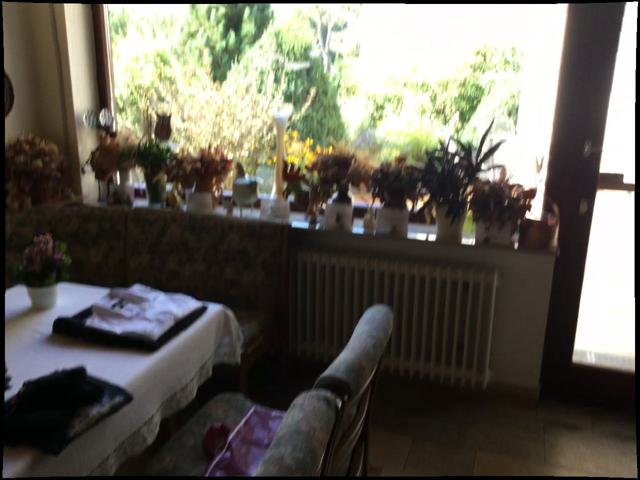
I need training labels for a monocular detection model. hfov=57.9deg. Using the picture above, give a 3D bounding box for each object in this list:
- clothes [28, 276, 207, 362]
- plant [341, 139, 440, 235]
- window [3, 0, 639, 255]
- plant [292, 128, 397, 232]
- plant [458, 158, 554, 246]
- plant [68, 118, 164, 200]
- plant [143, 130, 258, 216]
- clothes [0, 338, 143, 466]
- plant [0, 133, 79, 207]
[{"bbox_3d":[-0.639,0.240,1.870,0.410,0.070,0.360,7,19,20],"label":"clothes"},{"bbox_3d":[0.330,-0.260,2.710,0.390,0.370,0.260,7,19,20],"label":"plant"},{"bbox_3d":[-0.180,-0.711,2.770,2.878,1.111,0.480,7,19,20],"label":"window"},{"bbox_3d":[0.120,-0.300,2.750,0.400,0.400,0.340,7,19,20],"label":"plant"},{"bbox_3d":[0.829,-0.180,2.570,0.360,0.300,0.280,7,19,20],"label":"plant"},{"bbox_3d":[-1.109,-0.450,3.160,0.430,0.390,0.210,7,19,20],"label":"plant"},{"bbox_3d":[-0.609,-0.360,3.000,0.470,0.360,0.320,7,19,20],"label":"plant"},{"bbox_3d":[-0.629,0.380,1.420,0.220,0.120,0.310,7,19,20],"label":"clothes"},{"bbox_3d":[-1.489,-0.370,2.960,0.270,0.300,0.360,7,19,20],"label":"plant"}]
